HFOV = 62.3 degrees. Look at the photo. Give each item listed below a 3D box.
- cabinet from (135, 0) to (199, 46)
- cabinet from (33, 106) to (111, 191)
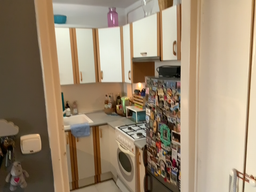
[{"bbox_3d":[0.350,-0.710,2.070,0.320,0.400,0.590,-6,11,-25],"label":"cabinet"},{"bbox_3d":[-0.710,0.640,2.690,0.810,0.850,0.580,-6,11,-25],"label":"cabinet"}]
